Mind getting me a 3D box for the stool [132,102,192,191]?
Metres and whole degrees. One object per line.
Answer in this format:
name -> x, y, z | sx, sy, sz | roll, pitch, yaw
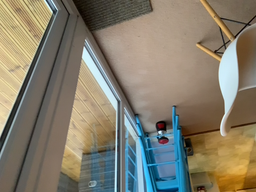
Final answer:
stool -> 0.320, 0.620, 1.990 | 0.410, 1.010, 0.430 | -14, 139, 13
